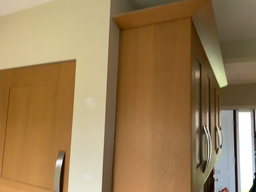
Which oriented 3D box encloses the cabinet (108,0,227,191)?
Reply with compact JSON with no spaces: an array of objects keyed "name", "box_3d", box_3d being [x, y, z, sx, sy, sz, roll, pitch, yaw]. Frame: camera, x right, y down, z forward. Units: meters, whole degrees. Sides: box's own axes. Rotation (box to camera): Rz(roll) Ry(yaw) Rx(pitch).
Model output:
[{"name":"cabinet","box_3d":[0.570,0.170,1.760,0.390,0.850,2.120,-1,-7,26]}]
